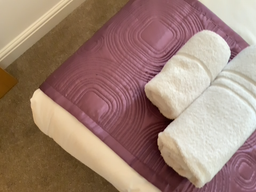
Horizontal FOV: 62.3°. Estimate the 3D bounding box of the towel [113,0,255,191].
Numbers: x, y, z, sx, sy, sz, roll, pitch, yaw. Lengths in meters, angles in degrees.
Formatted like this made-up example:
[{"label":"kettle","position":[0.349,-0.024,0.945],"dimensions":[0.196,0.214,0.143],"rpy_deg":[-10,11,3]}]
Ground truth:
[{"label":"towel","position":[0.200,-0.020,0.490],"dimensions":[0.280,0.110,0.380],"rpy_deg":[43,76,5]}]
